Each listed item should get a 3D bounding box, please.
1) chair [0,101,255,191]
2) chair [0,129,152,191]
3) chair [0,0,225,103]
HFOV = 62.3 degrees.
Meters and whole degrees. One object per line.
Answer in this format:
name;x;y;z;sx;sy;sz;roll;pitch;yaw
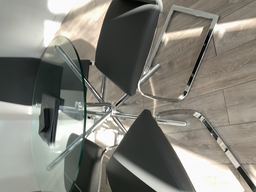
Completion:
chair;0.030;0.400;0.860;0.460;1.010;0.540;-60;44;29
chair;-0.390;0.580;1.430;0.450;0.980;0.590;14;97;53
chair;-0.090;-0.340;1.100;0.480;1.010;0.540;42;119;47
